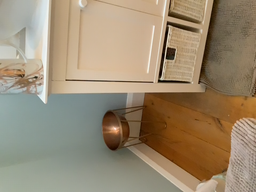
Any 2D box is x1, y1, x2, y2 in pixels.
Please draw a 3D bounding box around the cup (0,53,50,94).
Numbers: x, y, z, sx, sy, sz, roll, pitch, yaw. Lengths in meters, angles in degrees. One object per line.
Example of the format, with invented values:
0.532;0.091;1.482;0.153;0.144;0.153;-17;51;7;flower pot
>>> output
-0.380;-0.080;0.700;0.180;0.190;0.110;21;109;53;cup
